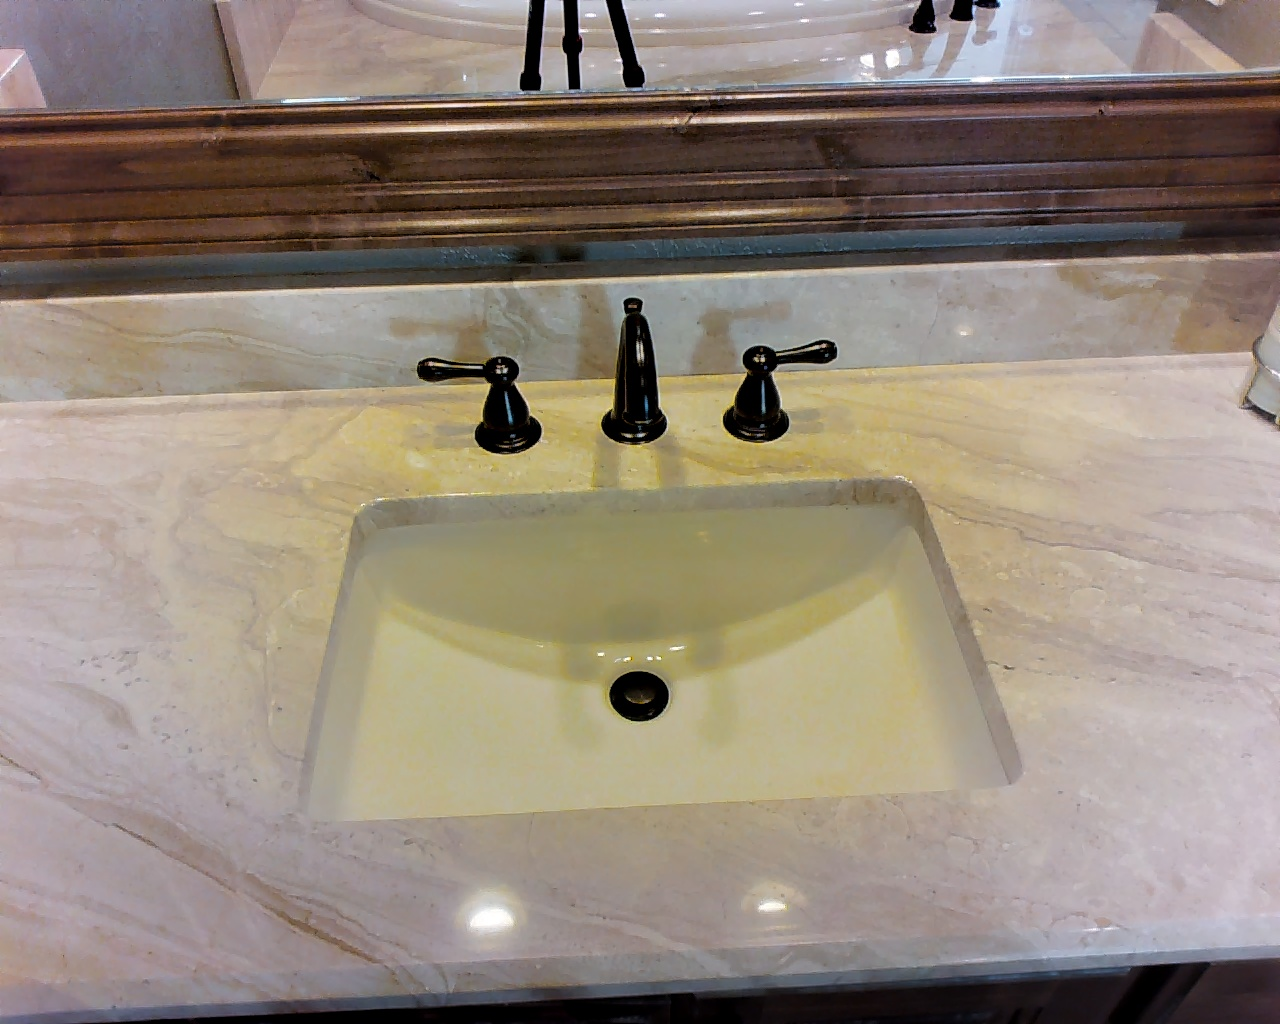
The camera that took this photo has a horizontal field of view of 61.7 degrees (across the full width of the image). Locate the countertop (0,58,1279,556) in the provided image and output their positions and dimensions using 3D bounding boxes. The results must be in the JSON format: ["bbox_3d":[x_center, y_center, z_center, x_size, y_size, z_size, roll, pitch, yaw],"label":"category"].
[{"bbox_3d":[0.000,-0.160,0.830,1.440,0.250,0.230,-3,44,-1],"label":"countertop"}]
